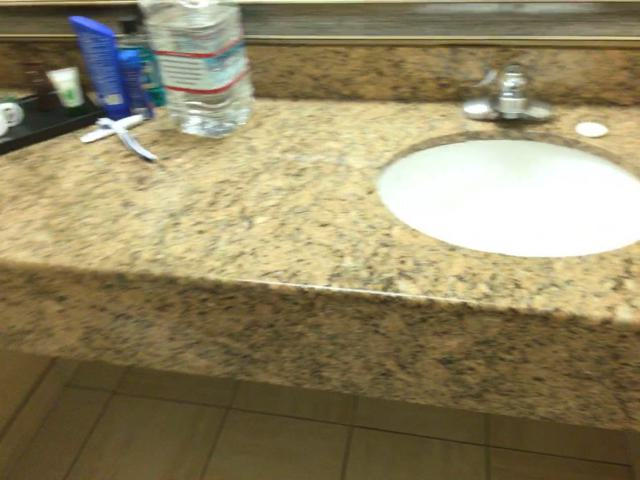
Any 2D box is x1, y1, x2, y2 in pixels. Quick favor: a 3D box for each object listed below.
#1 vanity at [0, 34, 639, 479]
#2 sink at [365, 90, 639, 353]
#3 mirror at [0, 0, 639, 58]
[{"bbox_3d":[-0.060,-0.050,1.000,1.480,0.420,0.590,4,37,10],"label":"vanity"},{"bbox_3d":[0.310,-0.060,0.960,0.420,0.220,0.410,4,37,10],"label":"sink"},{"bbox_3d":[-0.030,-0.500,1.010,1.450,0.330,0.080,4,37,10],"label":"mirror"}]
